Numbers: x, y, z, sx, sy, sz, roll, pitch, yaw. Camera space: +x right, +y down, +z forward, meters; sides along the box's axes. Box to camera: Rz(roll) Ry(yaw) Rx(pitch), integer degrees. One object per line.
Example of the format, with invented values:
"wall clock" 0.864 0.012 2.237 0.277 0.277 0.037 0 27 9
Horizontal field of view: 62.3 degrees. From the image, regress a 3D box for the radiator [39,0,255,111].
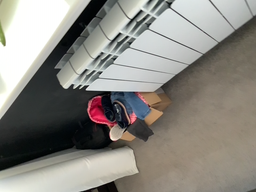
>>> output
"radiator" 0.250 -0.280 0.780 0.880 0.740 0.200 -40 67 30
